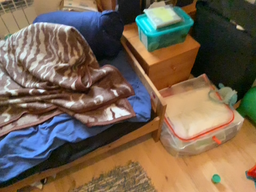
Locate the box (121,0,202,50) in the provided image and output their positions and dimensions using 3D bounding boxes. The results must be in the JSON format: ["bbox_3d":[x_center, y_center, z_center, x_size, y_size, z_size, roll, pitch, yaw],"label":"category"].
[{"bbox_3d":[0.210,-0.540,1.450,0.390,0.150,0.370,-23,56,-16],"label":"box"}]

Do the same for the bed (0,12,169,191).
[{"bbox_3d":[-0.930,0.160,1.400,2.070,0.400,1.090,-22,56,-16],"label":"bed"}]
